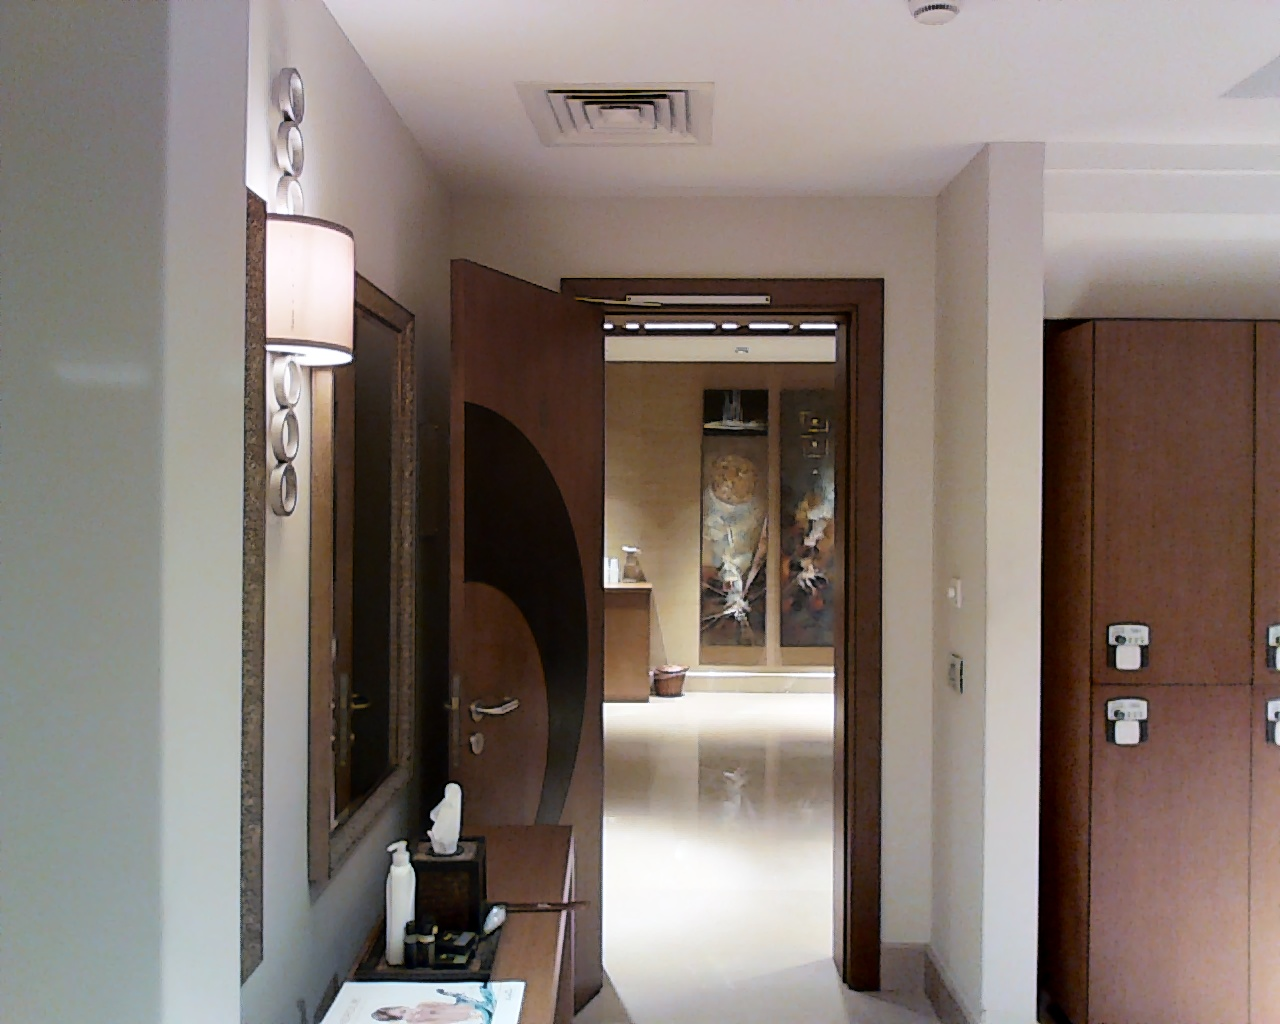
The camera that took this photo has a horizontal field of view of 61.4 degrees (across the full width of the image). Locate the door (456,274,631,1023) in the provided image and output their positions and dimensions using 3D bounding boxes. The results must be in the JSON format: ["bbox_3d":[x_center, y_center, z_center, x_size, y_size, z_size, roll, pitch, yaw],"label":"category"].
[{"bbox_3d":[-0.240,0.510,2.980,0.090,2.170,0.800,1,0,24],"label":"door"}]

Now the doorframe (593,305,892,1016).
[{"bbox_3d":[0.320,0.460,3.520,0.910,2.200,0.350,0,0,1],"label":"doorframe"}]
